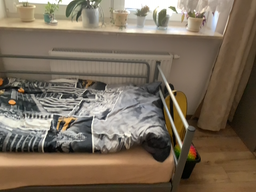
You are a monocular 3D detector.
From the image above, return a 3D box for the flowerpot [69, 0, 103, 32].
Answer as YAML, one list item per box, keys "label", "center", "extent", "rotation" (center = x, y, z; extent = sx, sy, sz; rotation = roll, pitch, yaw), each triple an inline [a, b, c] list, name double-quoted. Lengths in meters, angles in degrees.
- label: "flowerpot"
  center: [-0.320, -0.710, 1.640]
  extent: [0.240, 0.370, 0.180]
  rotation: [2, 31, -6]

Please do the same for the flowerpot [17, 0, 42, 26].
- label: "flowerpot"
  center: [-0.780, -0.700, 1.680]
  extent: [0.130, 0.250, 0.100]
  rotation: [2, 31, -6]
